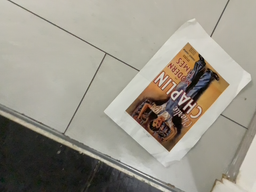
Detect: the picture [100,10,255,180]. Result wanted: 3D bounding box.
[{"bbox_3d":[0.130,0.000,0.480,0.240,0.010,0.300,45,86,-7],"label":"picture"}]
